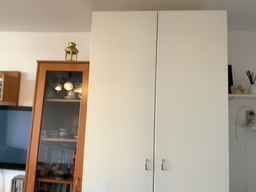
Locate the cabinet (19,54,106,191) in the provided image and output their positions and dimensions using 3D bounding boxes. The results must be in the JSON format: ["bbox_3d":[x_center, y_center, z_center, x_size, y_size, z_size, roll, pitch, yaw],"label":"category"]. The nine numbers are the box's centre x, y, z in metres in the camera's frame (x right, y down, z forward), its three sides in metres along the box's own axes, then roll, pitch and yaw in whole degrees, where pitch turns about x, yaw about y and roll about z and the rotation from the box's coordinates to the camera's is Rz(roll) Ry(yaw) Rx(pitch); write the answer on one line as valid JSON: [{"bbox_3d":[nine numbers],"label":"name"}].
[{"bbox_3d":[-0.550,0.700,1.860,0.490,2.010,0.560,2,-6,6],"label":"cabinet"}]
